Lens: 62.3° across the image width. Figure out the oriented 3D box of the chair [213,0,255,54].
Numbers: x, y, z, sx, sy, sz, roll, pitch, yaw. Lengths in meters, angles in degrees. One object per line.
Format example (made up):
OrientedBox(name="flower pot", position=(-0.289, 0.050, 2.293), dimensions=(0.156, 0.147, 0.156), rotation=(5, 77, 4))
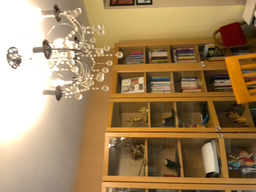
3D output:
OrientedBox(name="chair", position=(1.400, -0.800, 2.210), dimensions=(0.570, 0.780, 0.410), rotation=(84, -174, -57))
